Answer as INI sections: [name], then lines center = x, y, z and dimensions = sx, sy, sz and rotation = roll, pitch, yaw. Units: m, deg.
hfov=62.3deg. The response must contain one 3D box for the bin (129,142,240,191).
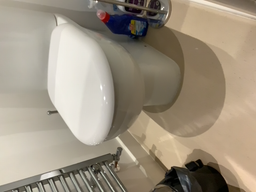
[bin]
center = 0.180, 0.380, 0.780
dimensions = 0.210, 0.300, 0.280
rotation = 42, 127, 40

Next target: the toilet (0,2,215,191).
[toilet]
center = -0.220, -0.070, 0.840
dimensions = 0.630, 0.810, 0.390
rotation = 41, 127, 41
